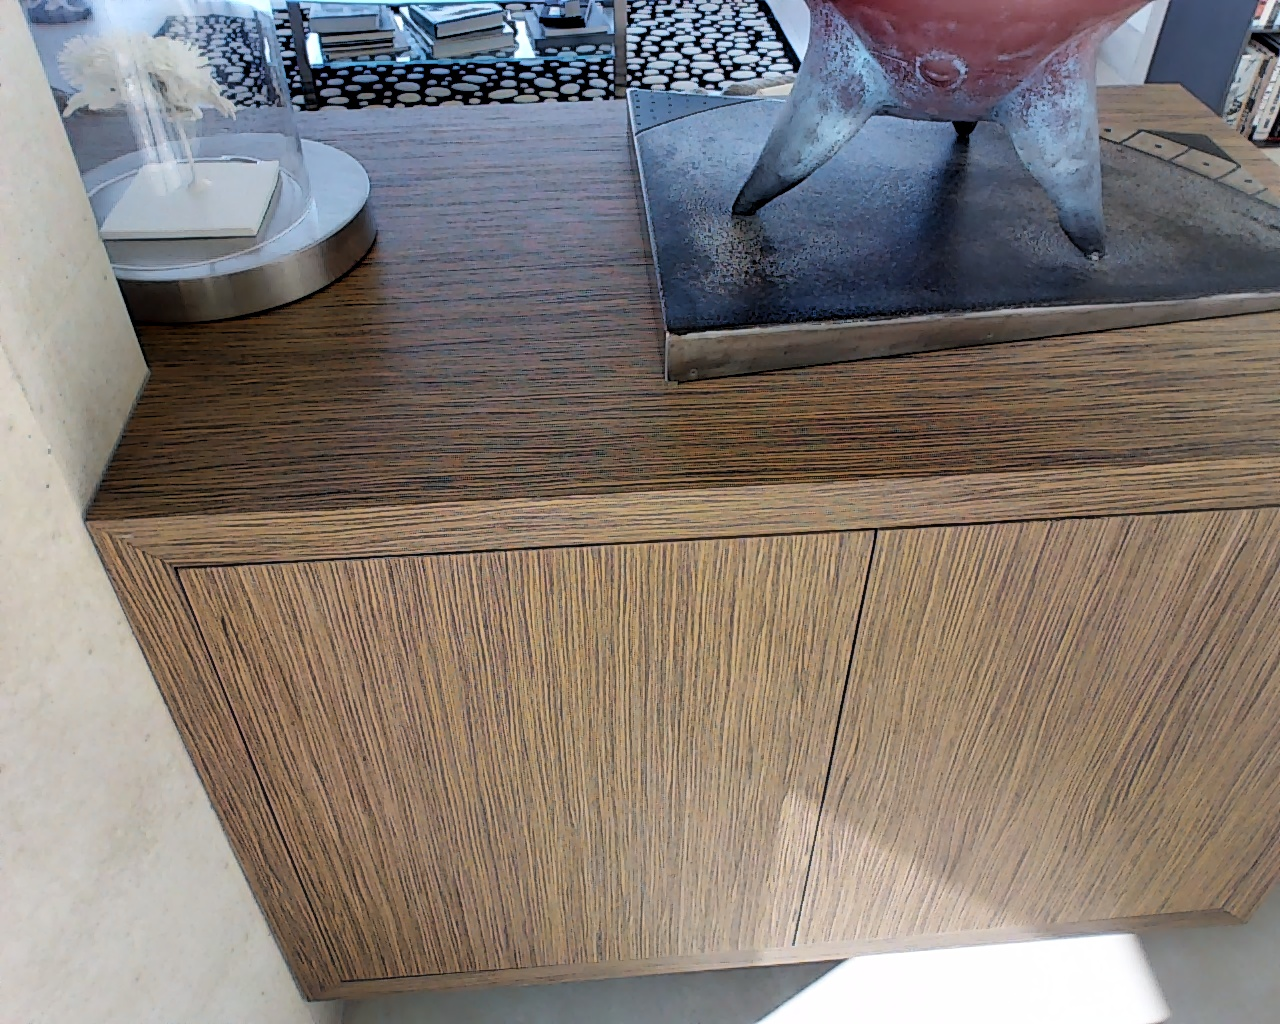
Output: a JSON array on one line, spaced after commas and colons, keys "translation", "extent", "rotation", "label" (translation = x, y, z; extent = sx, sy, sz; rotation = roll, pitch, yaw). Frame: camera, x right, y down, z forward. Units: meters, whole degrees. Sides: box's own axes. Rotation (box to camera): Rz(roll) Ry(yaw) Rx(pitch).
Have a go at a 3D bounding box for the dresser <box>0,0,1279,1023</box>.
[{"translation": [-0.640, 0.090, 1.340], "extent": [2.900, 1.180, 0.900], "rotation": [-3, 41, -4], "label": "dresser"}]
